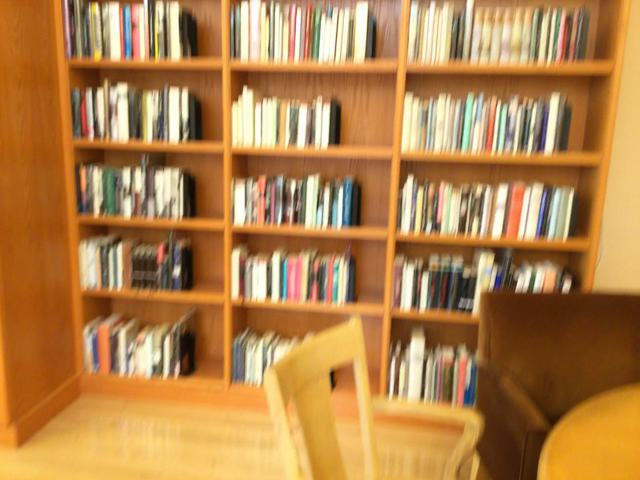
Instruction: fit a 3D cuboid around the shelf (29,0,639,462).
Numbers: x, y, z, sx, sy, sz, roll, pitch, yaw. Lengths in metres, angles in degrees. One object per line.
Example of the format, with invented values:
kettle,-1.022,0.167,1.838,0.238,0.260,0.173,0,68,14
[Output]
shelf,0.060,-0.230,2.770,2.580,2.200,0.640,1,10,9
